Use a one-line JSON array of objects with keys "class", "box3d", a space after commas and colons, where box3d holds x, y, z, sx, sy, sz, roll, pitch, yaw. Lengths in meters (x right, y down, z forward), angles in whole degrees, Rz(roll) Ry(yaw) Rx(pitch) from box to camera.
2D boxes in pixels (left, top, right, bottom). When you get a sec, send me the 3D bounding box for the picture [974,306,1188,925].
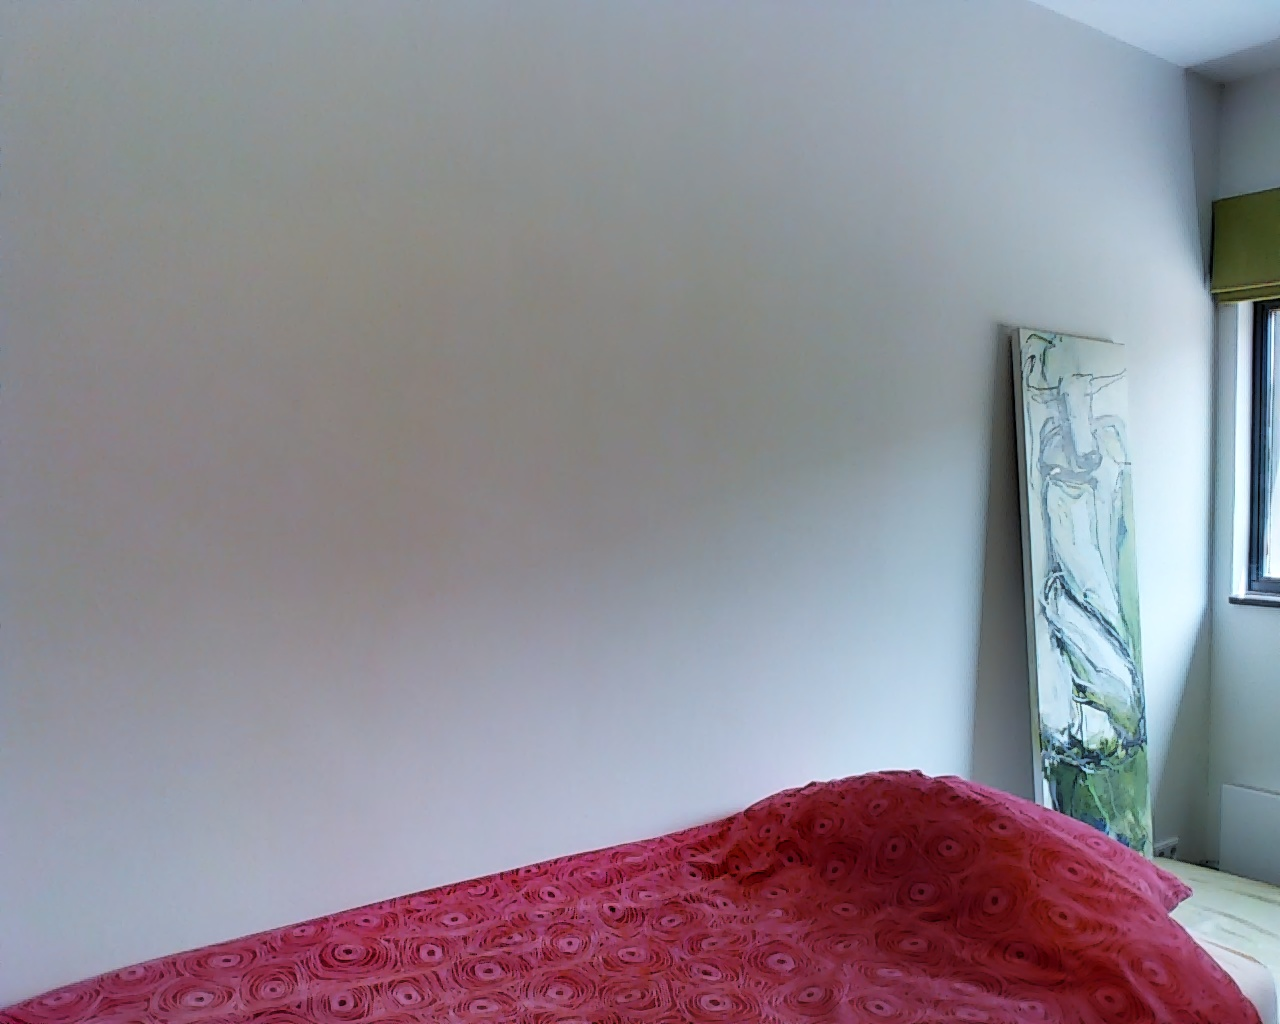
[{"class": "picture", "box3d": [1.200, 0.250, 2.910, 0.600, 1.530, 0.160, 0, -3, -36]}]
